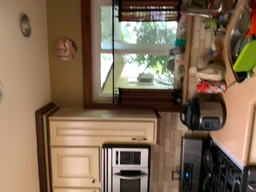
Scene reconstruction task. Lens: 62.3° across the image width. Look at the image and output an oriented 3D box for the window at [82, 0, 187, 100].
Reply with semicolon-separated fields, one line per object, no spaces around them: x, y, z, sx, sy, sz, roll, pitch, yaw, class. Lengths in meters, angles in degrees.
0.050;-0.440;2.000;0.110;0.930;0.930;-93;4;-82;window
